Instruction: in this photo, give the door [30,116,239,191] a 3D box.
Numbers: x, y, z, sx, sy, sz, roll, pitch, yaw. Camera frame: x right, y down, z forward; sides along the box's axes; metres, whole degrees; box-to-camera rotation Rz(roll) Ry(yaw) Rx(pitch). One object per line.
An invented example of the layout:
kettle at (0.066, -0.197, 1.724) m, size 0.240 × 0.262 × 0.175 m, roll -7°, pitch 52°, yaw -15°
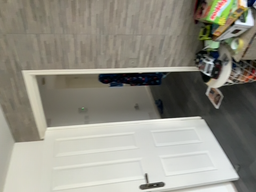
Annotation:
door at (0.060, 0.640, 2.290) m, size 0.900 × 2.000 × 0.080 m, roll -106°, pitch 18°, yaw -46°
